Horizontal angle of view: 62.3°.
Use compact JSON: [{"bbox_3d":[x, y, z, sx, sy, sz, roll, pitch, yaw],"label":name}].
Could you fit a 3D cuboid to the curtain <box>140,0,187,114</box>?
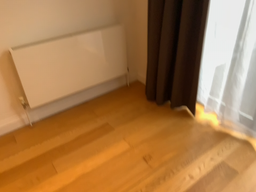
[{"bbox_3d":[0.320,-0.970,1.950,0.190,2.510,0.440,-22,38,-28],"label":"curtain"}]
